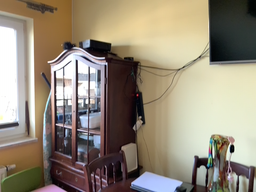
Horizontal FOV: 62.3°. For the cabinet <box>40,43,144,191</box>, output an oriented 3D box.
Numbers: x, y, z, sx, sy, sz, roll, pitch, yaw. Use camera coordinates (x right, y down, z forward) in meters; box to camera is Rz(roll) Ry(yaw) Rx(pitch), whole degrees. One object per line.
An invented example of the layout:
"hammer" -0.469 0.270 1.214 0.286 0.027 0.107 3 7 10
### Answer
"cabinet" -0.390 0.450 2.100 0.980 1.770 0.430 4 6 36
